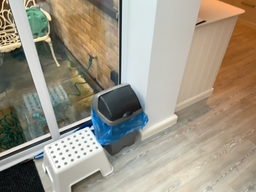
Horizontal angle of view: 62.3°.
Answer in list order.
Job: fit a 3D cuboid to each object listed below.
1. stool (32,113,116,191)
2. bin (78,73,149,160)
[{"bbox_3d":[-0.380,0.420,1.520,0.430,0.240,0.430,-22,47,-25],"label":"stool"},{"bbox_3d":[-0.110,0.150,1.620,0.380,0.450,0.330,-23,47,-26],"label":"bin"}]
